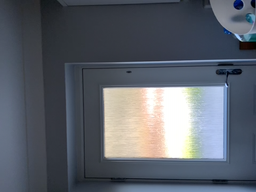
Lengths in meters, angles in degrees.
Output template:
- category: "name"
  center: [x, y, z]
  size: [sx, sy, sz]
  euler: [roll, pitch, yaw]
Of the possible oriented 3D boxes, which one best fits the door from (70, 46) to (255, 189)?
- category: "door"
  center: [0.630, 0.150, 1.530]
  size: [0.120, 2.090, 0.980]
  euler: [2, -92, -87]
